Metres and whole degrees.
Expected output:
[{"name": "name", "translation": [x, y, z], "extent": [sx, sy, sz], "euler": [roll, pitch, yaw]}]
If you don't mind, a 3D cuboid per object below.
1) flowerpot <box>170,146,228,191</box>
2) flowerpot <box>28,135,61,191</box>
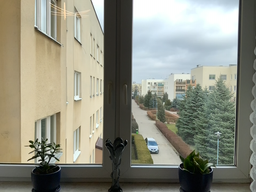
[{"name": "flowerpot", "translation": [0.400, 0.460, 1.270], "extent": [0.230, 0.220, 0.350], "euler": [1, 3, 2]}, {"name": "flowerpot", "translation": [-0.500, 0.430, 1.290], "extent": [0.120, 0.340, 0.220], "euler": [1, 3, -2]}]
